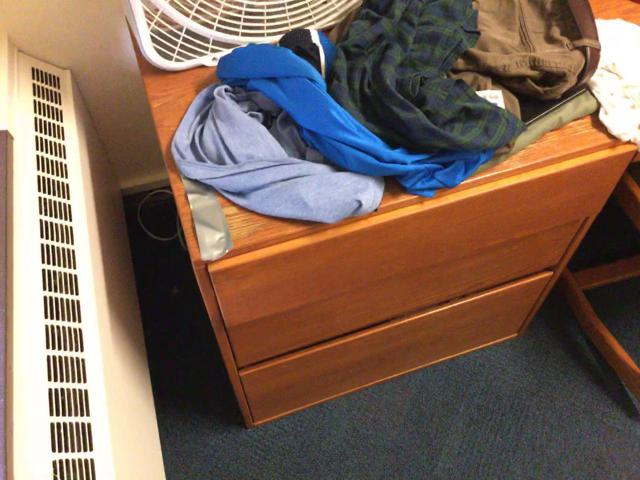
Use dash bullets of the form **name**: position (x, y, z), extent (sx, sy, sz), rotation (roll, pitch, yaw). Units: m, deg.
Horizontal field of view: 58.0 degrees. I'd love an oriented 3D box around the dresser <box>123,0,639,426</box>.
- **dresser**: position (0.110, -0.140, 1.300), extent (0.810, 0.840, 0.660), rotation (-14, 55, -7)
